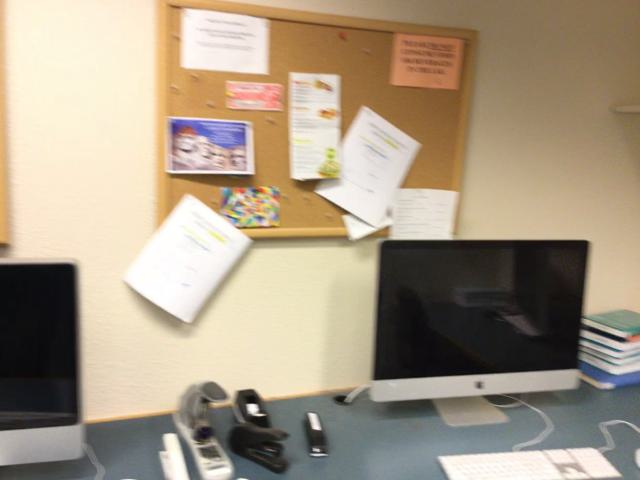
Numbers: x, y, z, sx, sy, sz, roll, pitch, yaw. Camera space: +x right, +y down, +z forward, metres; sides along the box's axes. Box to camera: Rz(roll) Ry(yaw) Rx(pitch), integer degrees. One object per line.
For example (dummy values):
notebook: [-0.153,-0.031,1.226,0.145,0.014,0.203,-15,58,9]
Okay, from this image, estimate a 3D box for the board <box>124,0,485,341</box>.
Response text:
board: [-0.020,-0.190,1.590,0.940,0.890,0.130,2,6,-23]
